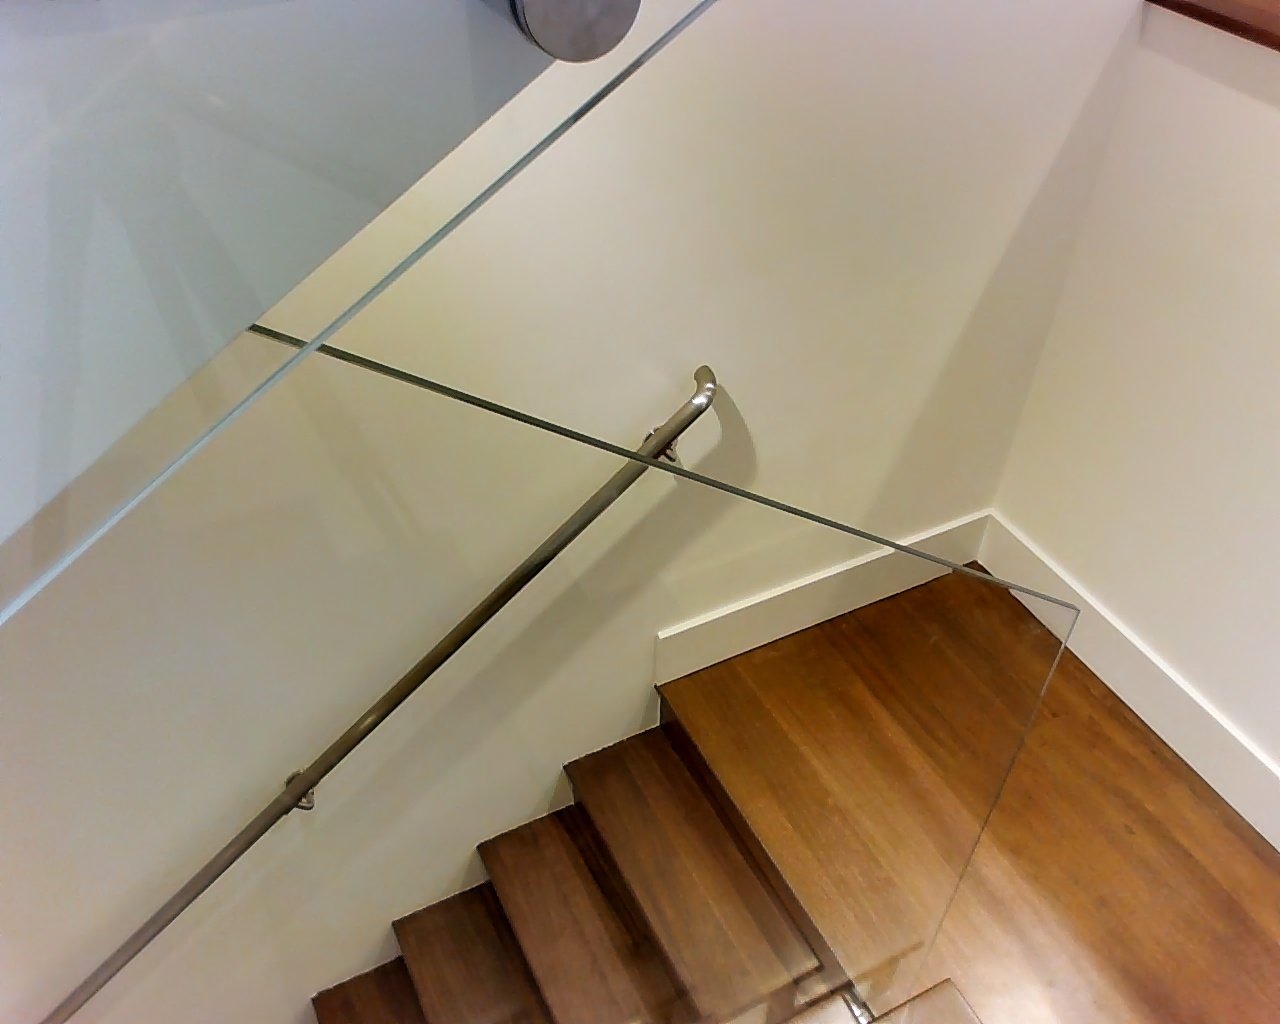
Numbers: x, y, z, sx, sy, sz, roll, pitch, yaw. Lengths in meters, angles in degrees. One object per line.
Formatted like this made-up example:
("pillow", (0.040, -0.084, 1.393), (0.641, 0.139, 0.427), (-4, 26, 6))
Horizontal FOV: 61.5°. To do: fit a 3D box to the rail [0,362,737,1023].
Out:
("rail", (-0.650, 0.500, 2.250), (1.800, 1.360, 0.100), (-18, 45, -20))
